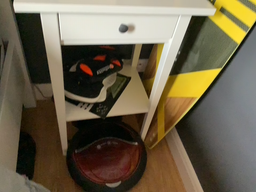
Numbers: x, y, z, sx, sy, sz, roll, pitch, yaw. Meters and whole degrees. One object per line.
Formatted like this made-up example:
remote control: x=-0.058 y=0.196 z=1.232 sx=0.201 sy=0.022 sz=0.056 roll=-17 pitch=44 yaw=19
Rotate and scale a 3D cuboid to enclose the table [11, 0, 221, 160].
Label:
table: x=-0.090 y=-0.110 z=0.830 sx=0.470 sy=0.690 sz=0.370 roll=-4 pitch=49 yaw=-15
